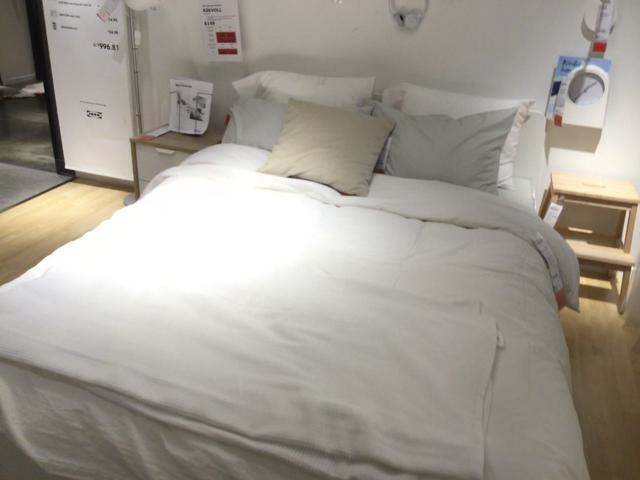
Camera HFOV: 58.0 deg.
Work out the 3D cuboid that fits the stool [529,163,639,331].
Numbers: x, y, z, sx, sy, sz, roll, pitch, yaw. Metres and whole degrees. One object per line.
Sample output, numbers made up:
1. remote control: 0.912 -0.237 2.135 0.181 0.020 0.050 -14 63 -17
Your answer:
1. stool: 1.180 0.000 2.500 0.420 0.480 0.560 11 26 18
